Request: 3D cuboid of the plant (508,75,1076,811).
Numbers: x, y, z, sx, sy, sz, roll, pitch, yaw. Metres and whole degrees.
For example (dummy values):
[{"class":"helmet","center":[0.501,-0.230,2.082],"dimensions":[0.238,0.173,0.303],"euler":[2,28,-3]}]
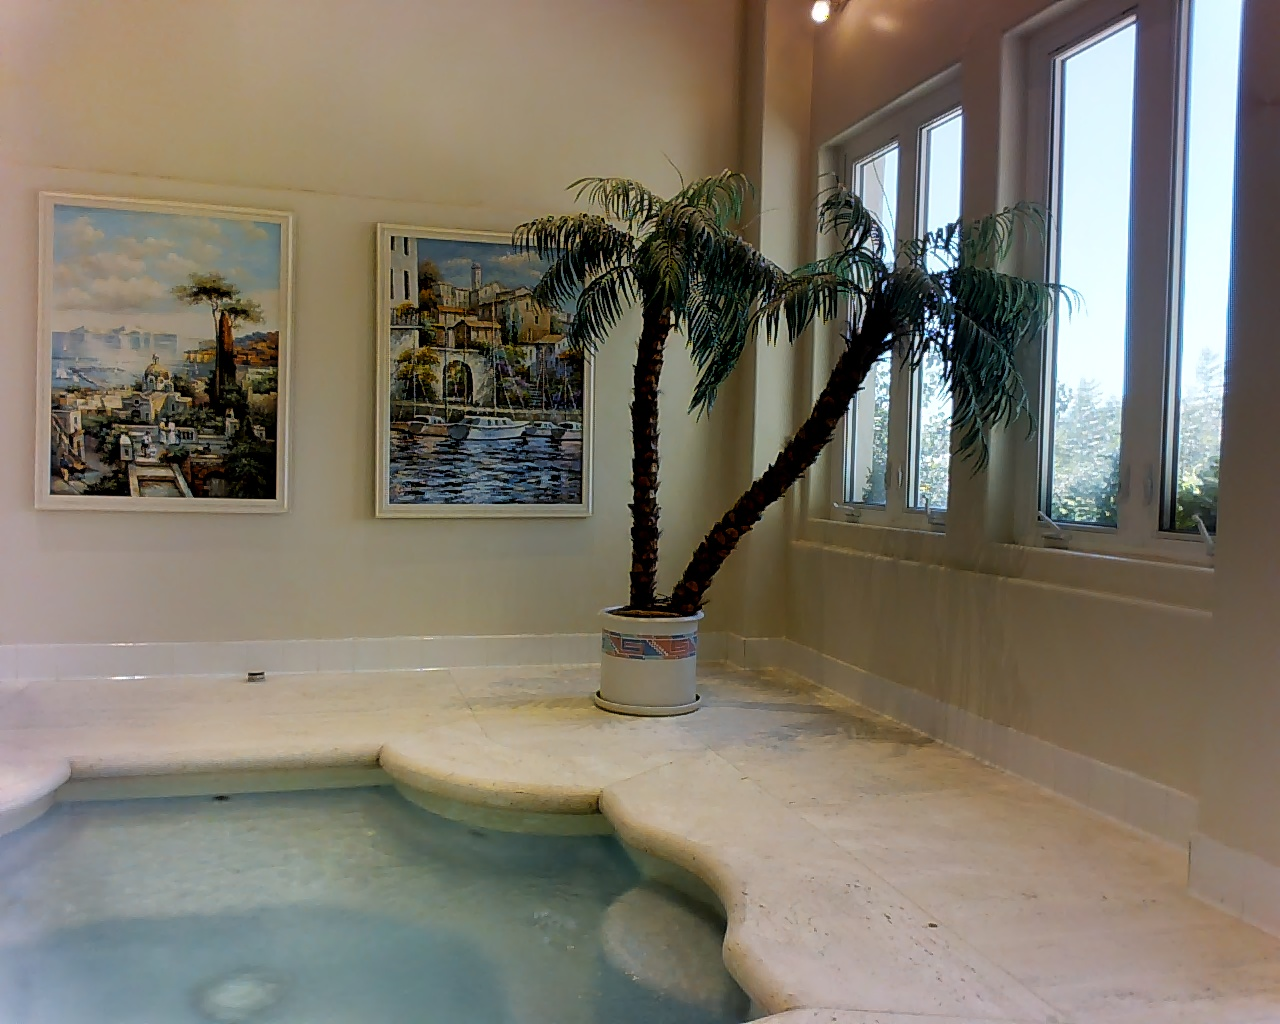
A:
[{"class":"plant","center":[0.450,-0.230,4.090],"dimensions":[0.980,2.080,1.930],"euler":[0,3,-38]}]
